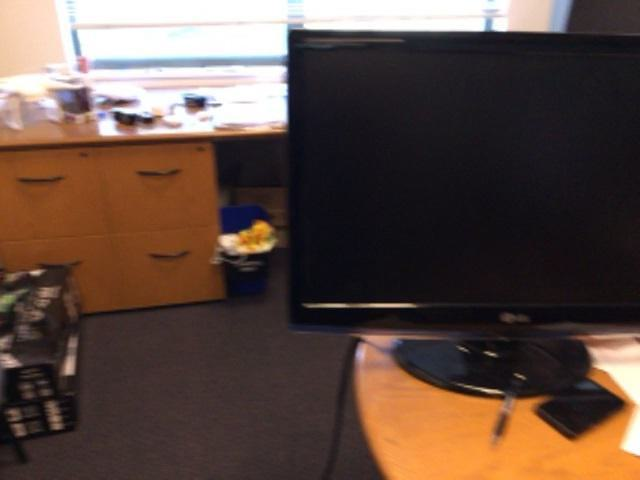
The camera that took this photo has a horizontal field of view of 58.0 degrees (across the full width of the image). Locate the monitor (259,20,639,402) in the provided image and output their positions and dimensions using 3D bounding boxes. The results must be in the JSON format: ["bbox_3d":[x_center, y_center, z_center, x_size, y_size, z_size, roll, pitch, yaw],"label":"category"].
[{"bbox_3d":[0.260,-0.050,0.780,0.650,0.450,0.160,-4,23,-8],"label":"monitor"}]

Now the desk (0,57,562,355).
[{"bbox_3d":[-0.250,-0.250,2.430,2.160,0.860,0.820,-6,24,-12],"label":"desk"}]
